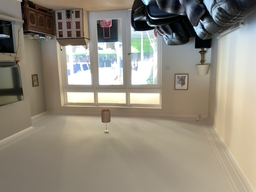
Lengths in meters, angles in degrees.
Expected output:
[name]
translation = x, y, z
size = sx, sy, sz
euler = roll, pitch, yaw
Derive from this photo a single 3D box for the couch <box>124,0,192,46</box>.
[couch]
translation = 0.560, -1.530, 4.270
size = 0.990, 0.930, 0.980
euler = -5, -170, -21
